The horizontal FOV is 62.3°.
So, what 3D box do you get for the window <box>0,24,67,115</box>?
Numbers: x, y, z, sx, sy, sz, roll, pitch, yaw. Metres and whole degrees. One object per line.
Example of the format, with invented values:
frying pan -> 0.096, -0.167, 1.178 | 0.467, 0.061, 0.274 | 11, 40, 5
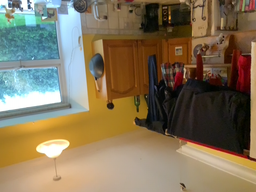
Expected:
window -> -1.350, -0.350, 2.710 | 1.020, 1.070, 0.100 | -10, -168, -33
